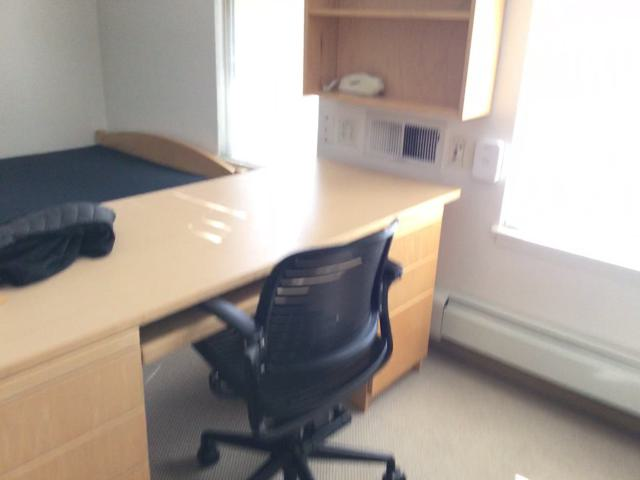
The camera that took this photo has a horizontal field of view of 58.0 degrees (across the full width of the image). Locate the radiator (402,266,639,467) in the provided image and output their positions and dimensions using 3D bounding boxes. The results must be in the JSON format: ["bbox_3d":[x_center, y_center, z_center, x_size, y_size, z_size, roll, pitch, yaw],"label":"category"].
[{"bbox_3d":[0.940,0.490,2.030,1.410,0.350,0.180,21,25,38],"label":"radiator"}]
